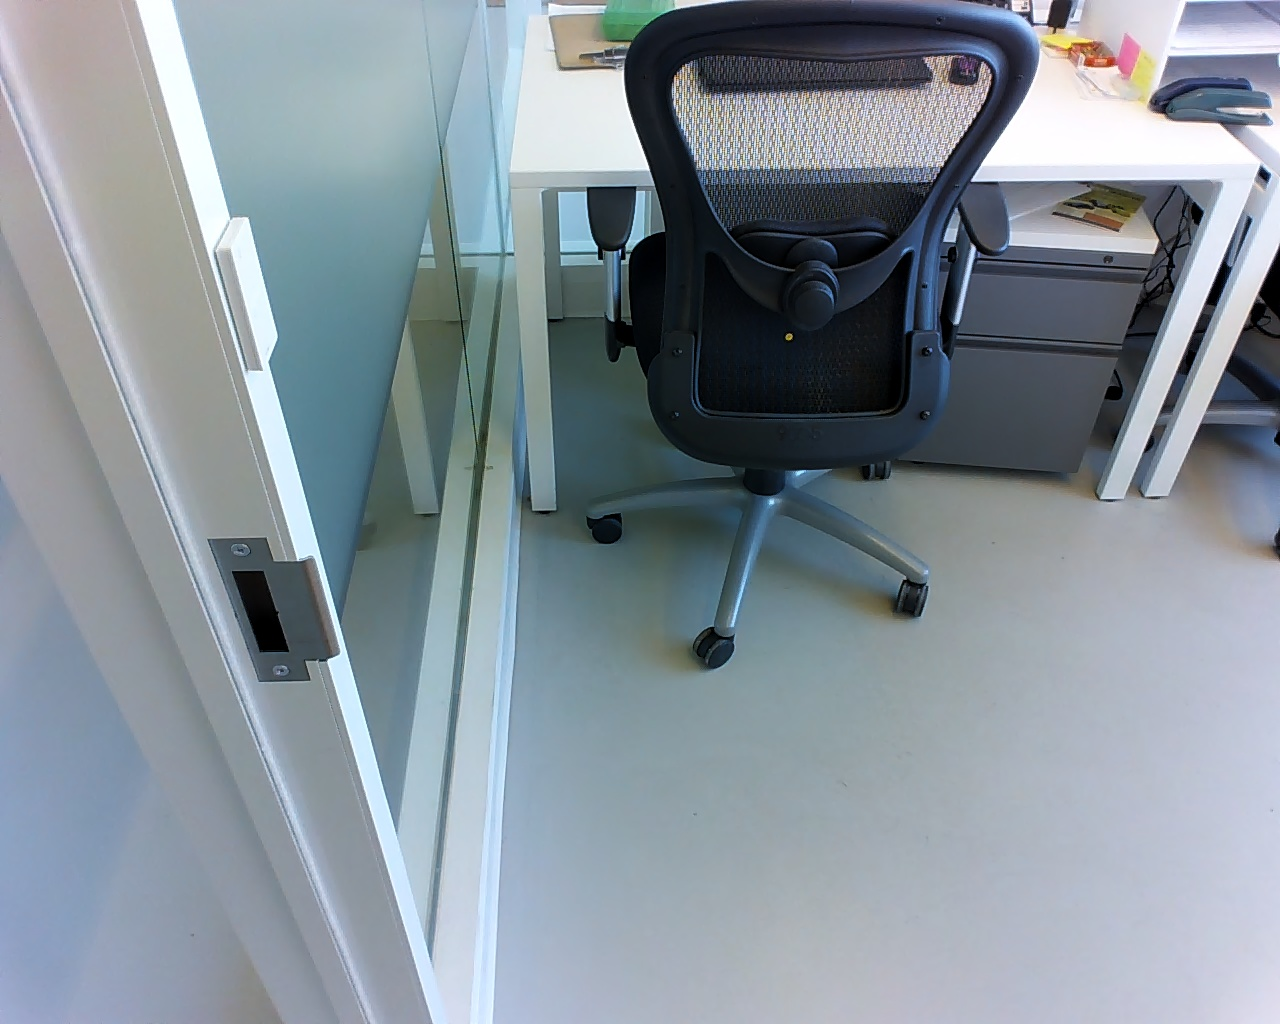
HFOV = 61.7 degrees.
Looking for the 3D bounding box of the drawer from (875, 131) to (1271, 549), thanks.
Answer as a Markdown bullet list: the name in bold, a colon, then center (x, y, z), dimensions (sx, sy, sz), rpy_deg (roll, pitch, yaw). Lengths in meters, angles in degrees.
- **drawer**: center (0.760, -0.310, 2.040), dimensions (0.450, 0.680, 0.360), rpy_deg (-3, 42, -3)
